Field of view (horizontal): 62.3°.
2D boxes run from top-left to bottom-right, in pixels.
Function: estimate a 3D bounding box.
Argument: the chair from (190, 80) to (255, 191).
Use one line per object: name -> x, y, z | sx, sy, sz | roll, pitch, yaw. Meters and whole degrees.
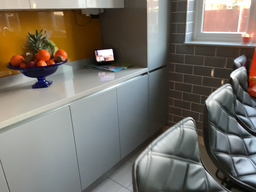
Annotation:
chair -> 0.610, 0.500, 1.030 | 0.480, 1.030, 0.400 | 13, 26, 36
